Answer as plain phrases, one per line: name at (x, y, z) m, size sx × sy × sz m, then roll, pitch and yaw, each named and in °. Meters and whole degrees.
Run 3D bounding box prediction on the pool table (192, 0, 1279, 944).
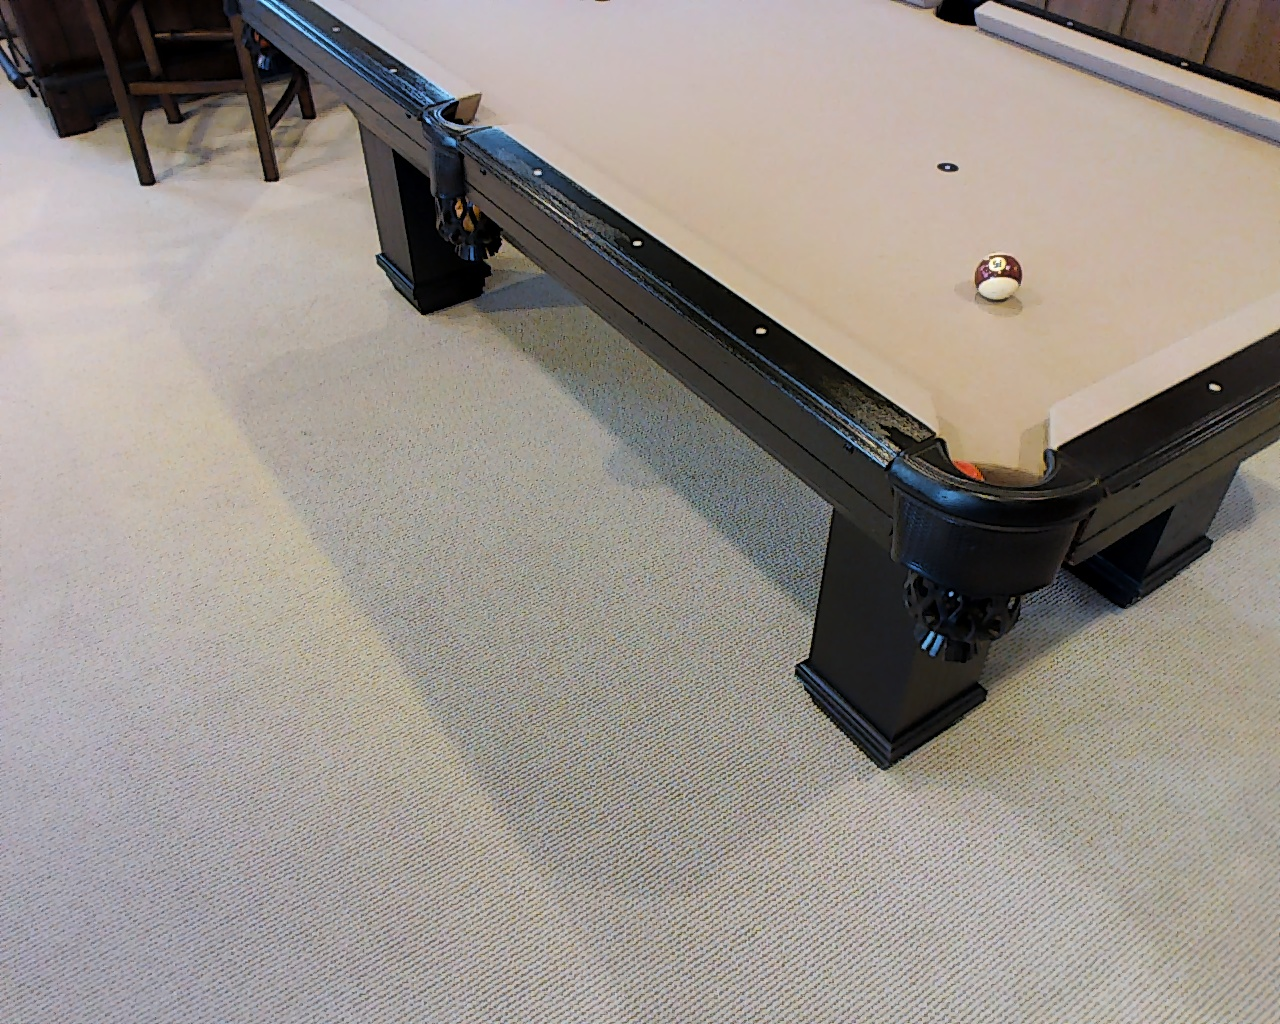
pool table at (0.160, -0.550, 2.130) m, size 1.250 × 0.790 × 2.200 m, roll -25°, pitch 48°, yaw -25°
